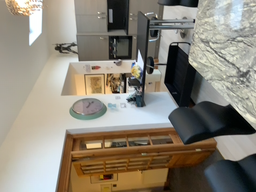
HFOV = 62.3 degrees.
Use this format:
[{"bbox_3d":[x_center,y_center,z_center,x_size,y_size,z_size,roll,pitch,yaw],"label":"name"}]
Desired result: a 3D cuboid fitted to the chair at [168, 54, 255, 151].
[{"bbox_3d":[0.880,0.030,1.630,0.370,0.980,0.600,-106,16,-58],"label":"chair"}]
